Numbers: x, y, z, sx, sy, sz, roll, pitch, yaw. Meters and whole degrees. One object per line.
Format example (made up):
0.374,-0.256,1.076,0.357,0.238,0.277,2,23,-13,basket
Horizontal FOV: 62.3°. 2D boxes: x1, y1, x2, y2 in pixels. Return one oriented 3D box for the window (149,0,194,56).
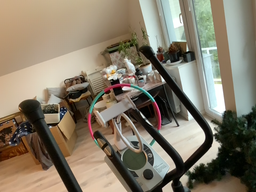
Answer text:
0.570,-1.240,3.070,0.160,1.240,0.760,-21,22,-9,window
